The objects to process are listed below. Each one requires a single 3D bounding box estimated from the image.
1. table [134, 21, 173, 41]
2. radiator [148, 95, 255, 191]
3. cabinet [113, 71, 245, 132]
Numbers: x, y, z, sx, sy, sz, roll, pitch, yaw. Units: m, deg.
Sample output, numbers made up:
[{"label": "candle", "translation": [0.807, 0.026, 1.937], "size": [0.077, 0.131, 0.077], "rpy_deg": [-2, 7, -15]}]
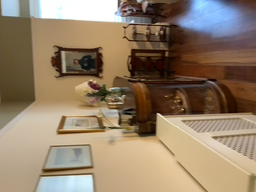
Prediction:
[{"label": "table", "translation": [0.420, -1.080, 3.540], "size": [0.220, 0.590, 0.260], "rpy_deg": [-152, 62, -75]}, {"label": "radiator", "translation": [0.790, 0.260, 1.200], "size": [1.460, 0.930, 0.230], "rpy_deg": [-138, 48, -73]}, {"label": "cabinet", "translation": [0.430, -0.060, 2.760], "size": [1.720, 0.990, 0.460], "rpy_deg": [-144, 54, -74]}]
